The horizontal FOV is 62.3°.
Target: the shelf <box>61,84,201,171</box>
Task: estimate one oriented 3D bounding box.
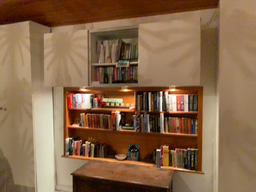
[{"bbox_3d":[-0.020,0.350,2.770,1.840,0.990,0.200,0,3,18],"label":"shelf"}]
